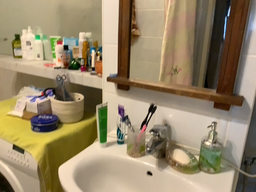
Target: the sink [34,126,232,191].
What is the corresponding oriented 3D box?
[{"bbox_3d":[0.030,0.310,0.690,0.500,0.180,0.380,12,19,28],"label":"sink"}]
